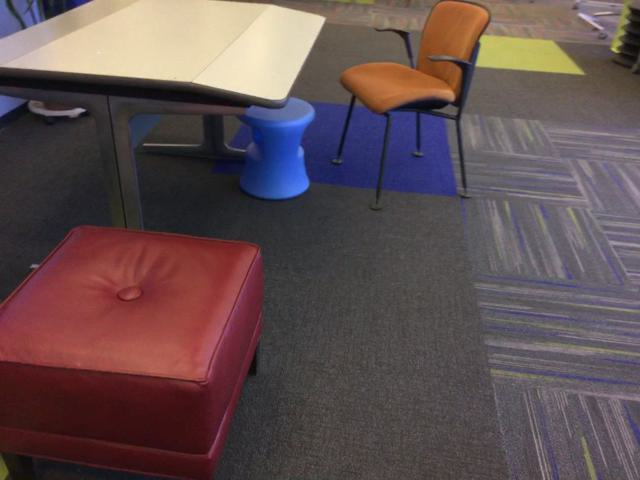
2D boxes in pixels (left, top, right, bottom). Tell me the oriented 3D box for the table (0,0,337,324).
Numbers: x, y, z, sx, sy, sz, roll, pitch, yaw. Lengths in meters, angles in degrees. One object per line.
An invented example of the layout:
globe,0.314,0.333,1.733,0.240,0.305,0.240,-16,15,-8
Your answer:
table,-0.550,-0.440,2.280,1.060,0.840,1.250,6,28,6

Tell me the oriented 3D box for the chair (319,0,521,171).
chair,0.390,-0.720,2.540,0.610,0.610,0.570,-8,30,-19

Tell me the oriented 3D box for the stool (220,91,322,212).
stool,-0.210,-0.410,2.620,0.370,0.410,0.380,6,28,6
